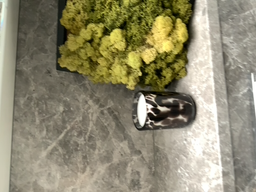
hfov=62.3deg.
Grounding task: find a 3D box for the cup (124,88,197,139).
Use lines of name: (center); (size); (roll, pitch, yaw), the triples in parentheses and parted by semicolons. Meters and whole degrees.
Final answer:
cup: (0.060, 0.040, 0.450); (0.130, 0.100, 0.090); (158, 111, -69)
